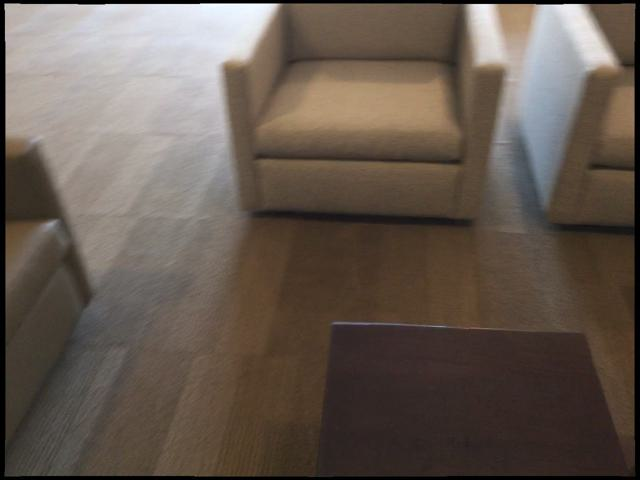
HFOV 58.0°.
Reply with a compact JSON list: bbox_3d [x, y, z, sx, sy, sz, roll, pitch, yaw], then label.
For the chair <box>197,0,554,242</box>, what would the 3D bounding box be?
[{"bbox_3d":[0.190,-0.571,2.180,0.998,0.731,0.861,2,42,5],"label":"chair"}]
